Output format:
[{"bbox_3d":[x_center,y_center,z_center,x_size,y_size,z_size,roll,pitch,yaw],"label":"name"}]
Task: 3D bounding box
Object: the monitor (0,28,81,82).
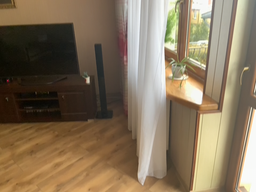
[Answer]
[{"bbox_3d":[-1.310,-0.560,2.980,1.200,0.720,0.060,-2,23,1],"label":"monitor"}]
